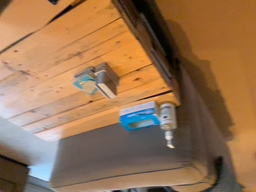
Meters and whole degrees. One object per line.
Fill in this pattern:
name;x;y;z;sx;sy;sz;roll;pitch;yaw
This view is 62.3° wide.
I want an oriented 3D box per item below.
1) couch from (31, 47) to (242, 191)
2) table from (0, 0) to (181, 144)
couch;0.230;0.510;1.730;0.990;0.720;1.410;-19;138;26
table;-0.340;-0.180;1.100;0.950;0.400;0.820;-17;139;25
